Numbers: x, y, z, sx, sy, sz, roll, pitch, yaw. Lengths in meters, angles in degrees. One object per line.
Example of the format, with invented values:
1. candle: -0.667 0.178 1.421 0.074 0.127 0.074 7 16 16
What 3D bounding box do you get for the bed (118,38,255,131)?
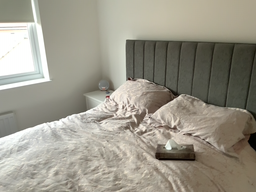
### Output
1. bed: 0.490 -0.210 2.010 0.170 0.610 1.580 -17 24 -40
